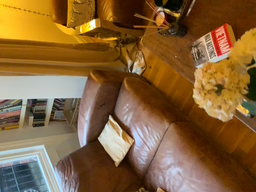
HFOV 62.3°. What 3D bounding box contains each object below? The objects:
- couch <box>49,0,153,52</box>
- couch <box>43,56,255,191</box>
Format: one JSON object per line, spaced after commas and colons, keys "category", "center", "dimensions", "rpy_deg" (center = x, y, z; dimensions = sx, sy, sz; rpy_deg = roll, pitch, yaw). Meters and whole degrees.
{"category": "couch", "center": [-0.310, -0.950, 2.150], "dimensions": [0.850, 0.680, 0.760], "rpy_deg": [-3, 89, 51]}
{"category": "couch", "center": [0.080, 0.570, 1.590], "dimensions": [1.620, 0.780, 1.040], "rpy_deg": [46, 124, 40]}
